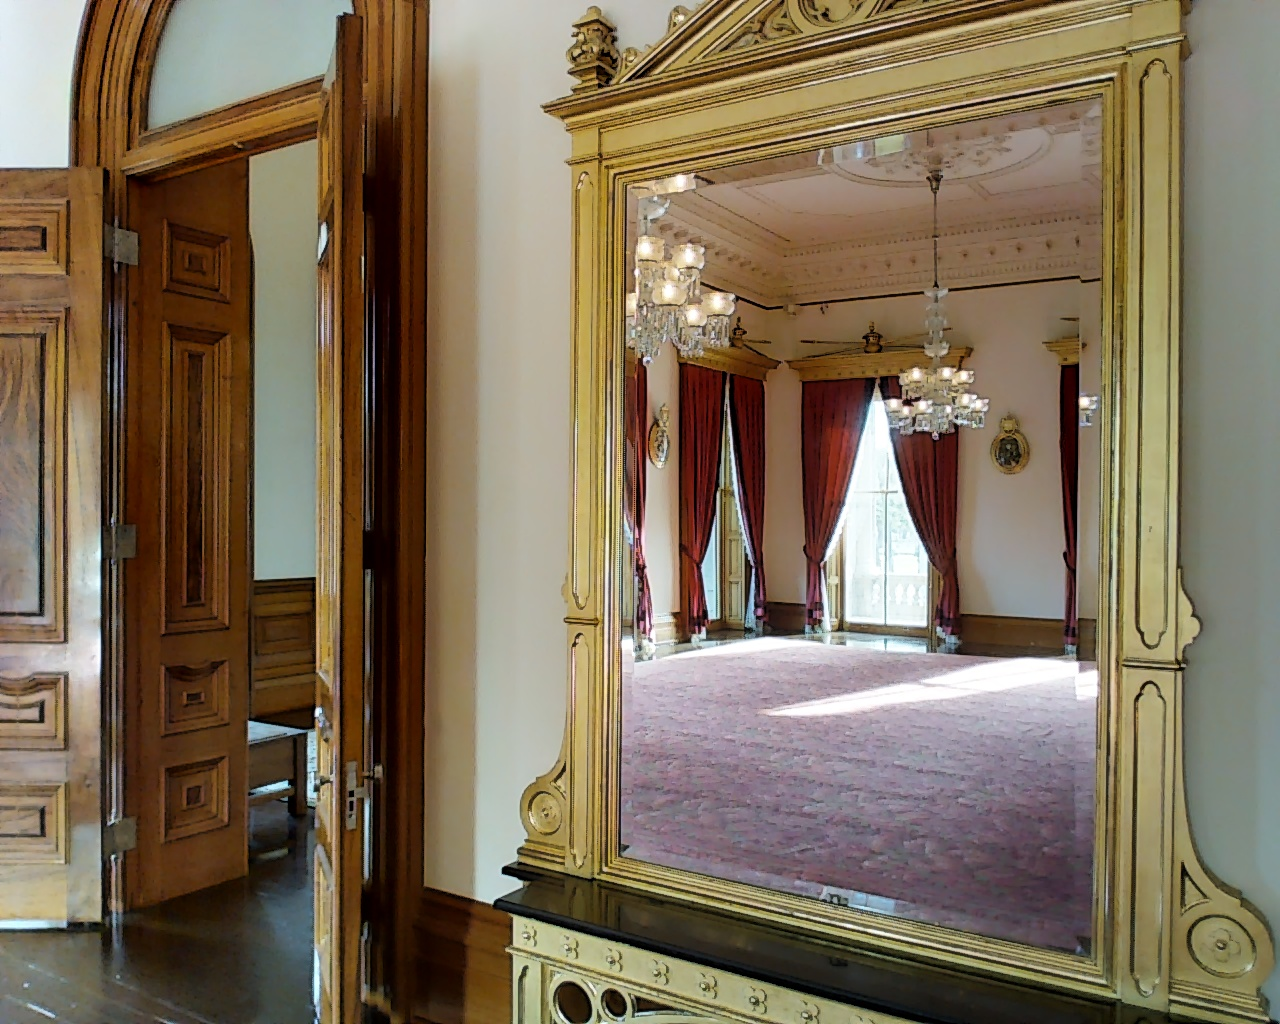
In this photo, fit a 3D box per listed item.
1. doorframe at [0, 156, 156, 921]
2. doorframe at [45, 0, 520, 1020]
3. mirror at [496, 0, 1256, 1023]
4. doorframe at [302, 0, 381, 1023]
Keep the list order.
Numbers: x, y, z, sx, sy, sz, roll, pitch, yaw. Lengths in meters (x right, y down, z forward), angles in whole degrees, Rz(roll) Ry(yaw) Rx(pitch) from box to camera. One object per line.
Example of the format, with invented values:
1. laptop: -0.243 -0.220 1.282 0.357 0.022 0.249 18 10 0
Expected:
1. doorframe: -2.330 0.100 4.130 0.790 2.840 0.270 1 0 -5
2. doorframe: -1.380 -0.710 3.940 2.000 4.461 0.440 1 0 31
3. mirror: 0.440 -0.010 2.470 1.660 3.030 0.340 1 0 31
4. doorframe: -0.880 0.080 3.130 0.090 2.900 0.720 1 0 -24
